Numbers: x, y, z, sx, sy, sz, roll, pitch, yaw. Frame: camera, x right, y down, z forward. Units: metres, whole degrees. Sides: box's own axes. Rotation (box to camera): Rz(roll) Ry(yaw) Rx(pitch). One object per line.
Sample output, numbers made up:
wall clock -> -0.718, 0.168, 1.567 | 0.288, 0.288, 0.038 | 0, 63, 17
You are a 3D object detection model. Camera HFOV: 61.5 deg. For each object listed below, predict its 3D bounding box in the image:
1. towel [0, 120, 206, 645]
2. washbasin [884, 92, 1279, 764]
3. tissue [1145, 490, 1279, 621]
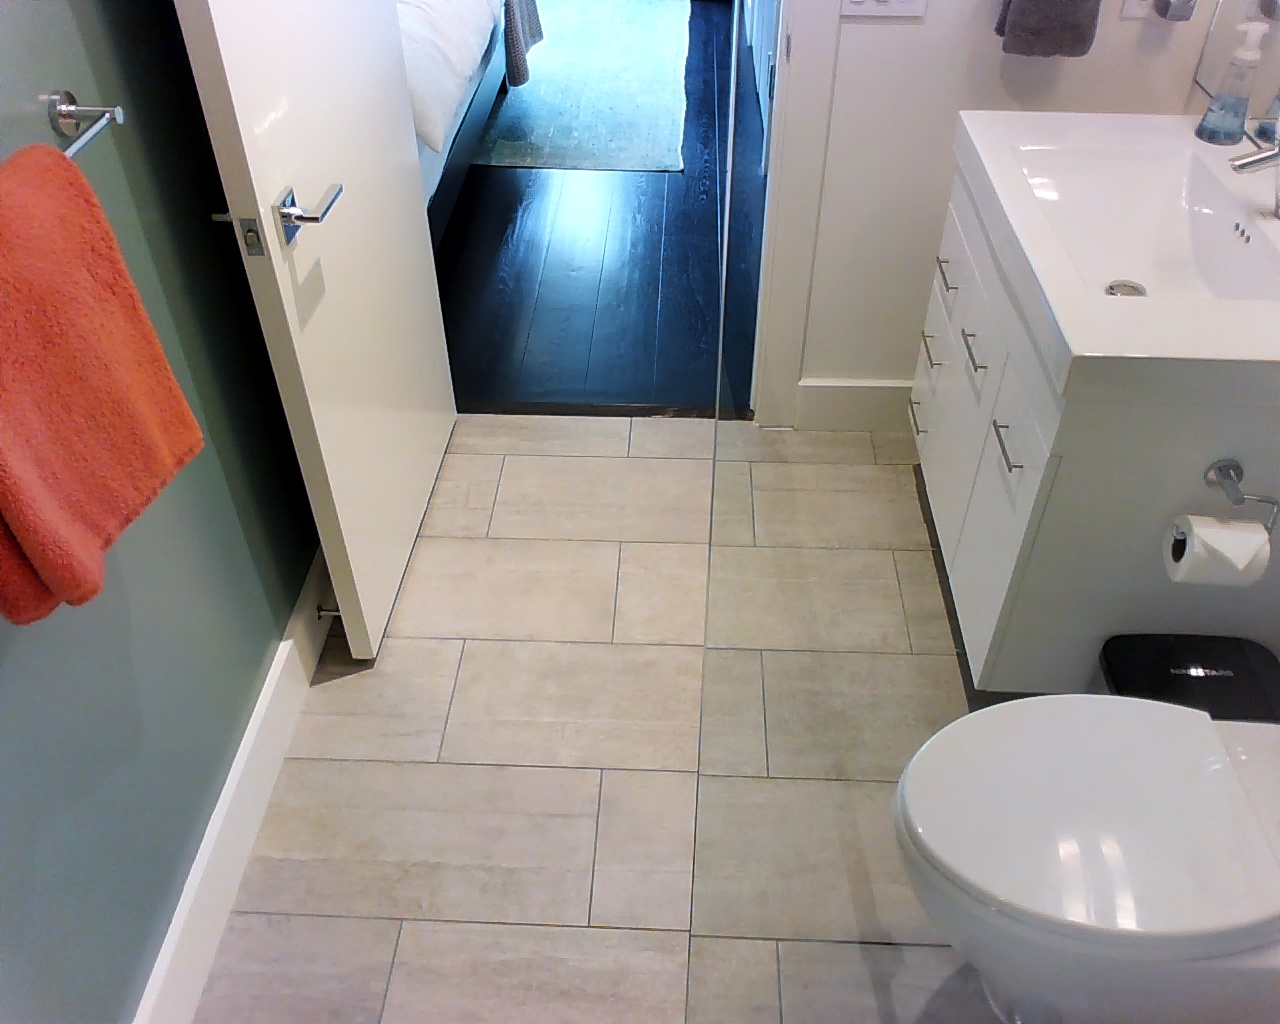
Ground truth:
towel -> -0.620, -0.130, 1.110 | 0.110, 0.390, 0.370 | 1, 47, 2
washbasin -> 0.740, -0.180, 2.010 | 0.340, 0.860, 0.930 | 2, 41, 3
tissue -> 0.840, 0.060, 1.520 | 0.170, 0.100, 0.160 | 1, 41, 2
